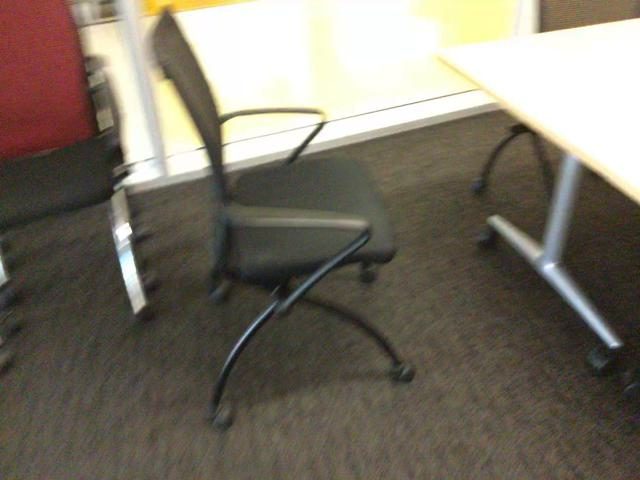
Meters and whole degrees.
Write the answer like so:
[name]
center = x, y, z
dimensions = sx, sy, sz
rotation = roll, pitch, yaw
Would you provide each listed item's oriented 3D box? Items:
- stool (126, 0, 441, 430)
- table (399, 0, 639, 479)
[stool]
center = -0.090, -0.090, 1.530
dimensions = 0.570, 0.920, 0.590
rotation = -10, 35, -8
[table]
center = 1.580, -0.140, 1.530
dimensions = 2.220, 0.800, 1.650
rotation = -13, 36, -12
